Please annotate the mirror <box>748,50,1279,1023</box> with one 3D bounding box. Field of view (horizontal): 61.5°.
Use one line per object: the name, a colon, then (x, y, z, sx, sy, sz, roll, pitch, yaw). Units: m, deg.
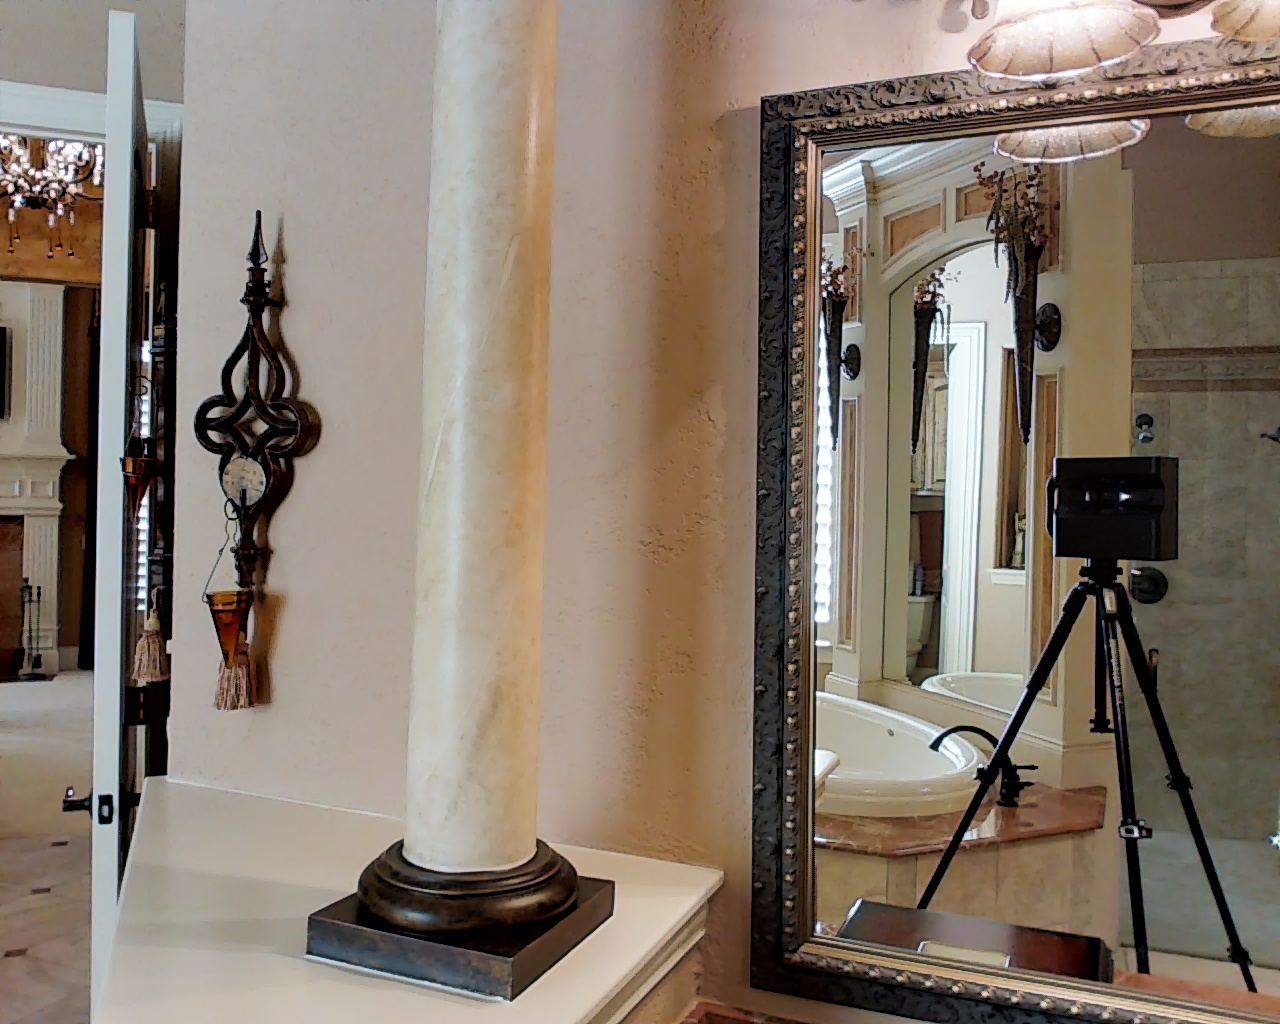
mirror: (0.520, 0.050, 1.110, 0.810, 0.990, 0.070, 1, 0, 23)
